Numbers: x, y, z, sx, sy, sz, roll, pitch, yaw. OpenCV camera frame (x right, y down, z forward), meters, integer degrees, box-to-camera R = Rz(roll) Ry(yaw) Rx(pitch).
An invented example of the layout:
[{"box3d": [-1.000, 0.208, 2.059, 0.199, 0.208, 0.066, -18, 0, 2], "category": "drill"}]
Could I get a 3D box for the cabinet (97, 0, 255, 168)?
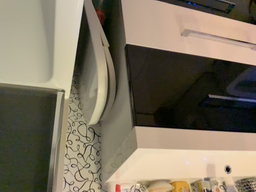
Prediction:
[{"box3d": [0.300, -0.170, 1.020, 0.820, 0.900, 0.400, 6, 146, -18], "category": "cabinet"}]
